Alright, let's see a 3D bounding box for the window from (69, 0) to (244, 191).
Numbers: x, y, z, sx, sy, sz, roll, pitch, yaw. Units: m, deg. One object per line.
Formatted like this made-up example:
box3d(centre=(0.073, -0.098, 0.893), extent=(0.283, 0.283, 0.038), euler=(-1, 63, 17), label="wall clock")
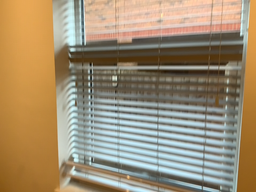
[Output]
box3d(centre=(0.070, -0.060, 1.300), extent=(1.060, 1.440, 0.040), euler=(5, 9, 27), label="window")
